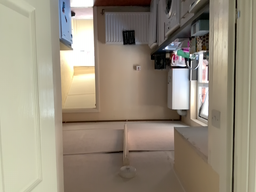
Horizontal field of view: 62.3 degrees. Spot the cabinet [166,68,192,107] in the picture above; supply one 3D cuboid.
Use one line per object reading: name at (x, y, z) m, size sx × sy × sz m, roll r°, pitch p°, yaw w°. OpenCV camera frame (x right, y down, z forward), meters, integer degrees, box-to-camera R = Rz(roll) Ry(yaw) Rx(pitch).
cabinet at (0.930, -0.170, 3.950) m, size 0.370 × 0.670 × 0.540 m, roll 0°, pitch -175°, yaw 4°
